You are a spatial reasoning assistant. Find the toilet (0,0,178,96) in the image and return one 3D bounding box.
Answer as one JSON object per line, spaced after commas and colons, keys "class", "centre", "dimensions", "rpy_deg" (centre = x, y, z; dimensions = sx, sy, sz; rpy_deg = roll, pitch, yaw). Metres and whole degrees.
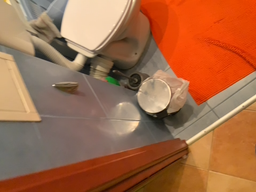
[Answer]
{"class": "toilet", "centre": [-0.260, -0.400, 0.900], "dimensions": [0.610, 1.040, 0.390], "rpy_deg": [-40, 69, 15]}
